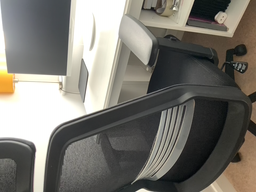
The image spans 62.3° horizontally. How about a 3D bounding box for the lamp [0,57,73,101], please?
[{"bbox_3d":[-0.650,-0.110,1.440,0.210,0.500,0.190,112,147,-41],"label":"lamp"}]
